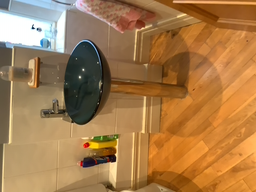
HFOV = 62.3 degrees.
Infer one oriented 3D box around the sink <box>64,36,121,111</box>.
[{"bbox_3d":[-0.210,-0.110,1.240,0.250,0.230,0.380,-2,87,52],"label":"sink"}]
